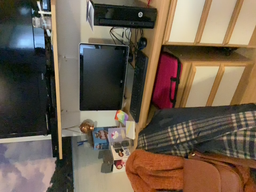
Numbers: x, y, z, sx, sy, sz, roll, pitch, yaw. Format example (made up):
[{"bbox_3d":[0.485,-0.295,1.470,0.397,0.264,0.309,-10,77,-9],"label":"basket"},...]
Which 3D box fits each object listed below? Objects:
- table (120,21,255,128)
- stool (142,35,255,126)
[{"bbox_3d":[0.370,-0.170,1.540,0.500,0.700,0.560,-117,30,-54],"label":"table"},{"bbox_3d":[0.460,-0.140,1.570,0.530,0.500,0.450,-117,30,-54],"label":"stool"}]
